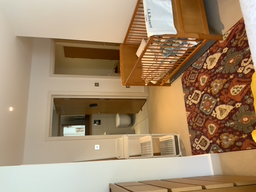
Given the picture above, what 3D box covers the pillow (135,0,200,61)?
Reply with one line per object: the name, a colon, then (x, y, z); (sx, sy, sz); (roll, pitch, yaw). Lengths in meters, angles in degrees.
pillow: (0.420, -0.890, 2.520); (0.660, 0.460, 0.700); (130, 139, -69)
